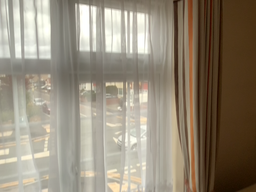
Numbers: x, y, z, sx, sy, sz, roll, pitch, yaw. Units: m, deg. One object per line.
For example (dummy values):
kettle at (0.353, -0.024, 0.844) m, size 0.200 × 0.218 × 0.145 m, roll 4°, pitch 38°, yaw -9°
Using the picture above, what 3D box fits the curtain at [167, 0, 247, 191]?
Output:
curtain at (0.410, 0.120, 1.150) m, size 0.310 × 1.700 × 0.220 m, roll -3°, pitch 6°, yaw -23°
